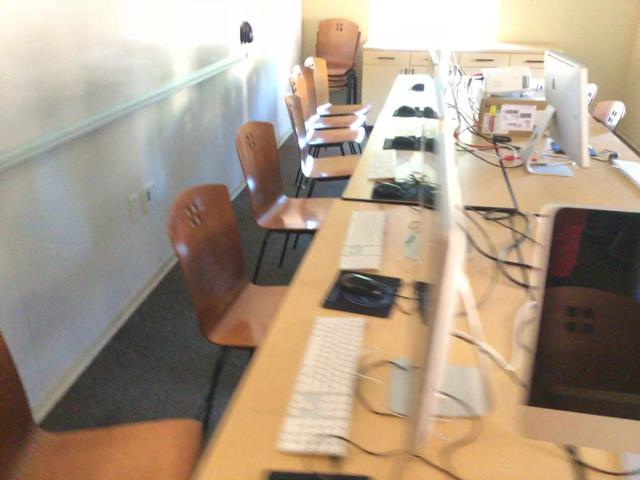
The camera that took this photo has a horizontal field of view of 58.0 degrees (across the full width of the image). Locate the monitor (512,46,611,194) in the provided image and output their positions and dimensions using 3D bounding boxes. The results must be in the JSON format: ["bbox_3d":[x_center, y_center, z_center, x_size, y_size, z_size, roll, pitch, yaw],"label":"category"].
[{"bbox_3d":[0.900,-0.480,2.220,0.180,0.450,0.510,4,25,8],"label":"monitor"}]
